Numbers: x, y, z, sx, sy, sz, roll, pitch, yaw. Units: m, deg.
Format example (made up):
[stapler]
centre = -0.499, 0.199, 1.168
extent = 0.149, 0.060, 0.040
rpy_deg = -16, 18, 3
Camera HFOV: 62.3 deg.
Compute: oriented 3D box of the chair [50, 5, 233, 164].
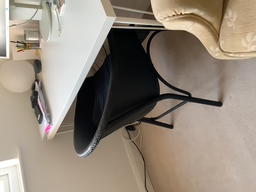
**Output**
[chair]
centre = 0.020, -0.030, 1.220
extent = 0.600, 0.710, 0.550
rpy_deg = -44, 58, 51
